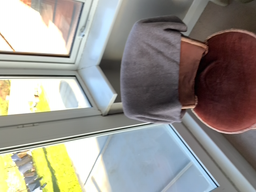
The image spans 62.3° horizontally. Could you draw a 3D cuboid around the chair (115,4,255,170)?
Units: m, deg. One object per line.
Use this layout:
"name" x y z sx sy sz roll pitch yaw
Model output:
"chair" 0.450 -0.090 1.180 0.690 0.750 0.540 15 105 50
